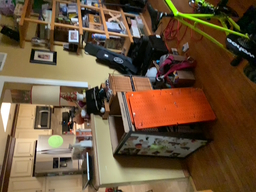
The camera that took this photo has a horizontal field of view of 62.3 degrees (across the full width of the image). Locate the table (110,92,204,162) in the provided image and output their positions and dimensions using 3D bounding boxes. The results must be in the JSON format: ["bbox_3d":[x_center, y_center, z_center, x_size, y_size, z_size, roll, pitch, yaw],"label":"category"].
[{"bbox_3d":[0.290,0.350,2.430,0.450,0.840,0.590,115,150,-45],"label":"table"}]

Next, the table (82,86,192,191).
[{"bbox_3d":[0.020,0.530,2.780,0.460,1.080,1.300,114,151,-43],"label":"table"}]
